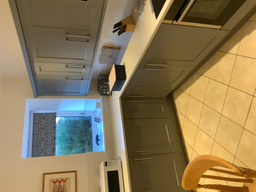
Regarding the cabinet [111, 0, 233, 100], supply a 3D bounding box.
[{"bbox_3d":[0.390,-0.540,2.700,1.390,0.890,0.620,121,144,-59],"label":"cabinet"}]
